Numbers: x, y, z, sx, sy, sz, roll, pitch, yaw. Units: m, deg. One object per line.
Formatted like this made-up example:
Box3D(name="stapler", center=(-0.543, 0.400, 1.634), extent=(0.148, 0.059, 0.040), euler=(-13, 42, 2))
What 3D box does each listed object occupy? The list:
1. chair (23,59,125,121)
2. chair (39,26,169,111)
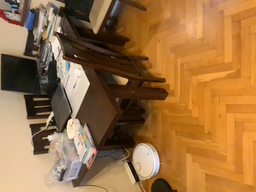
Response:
Box3D(name="chair", center=(-0.630, -0.040, 2.500), extent=(0.480, 0.990, 0.440), euler=(-59, 45, 31))
Box3D(name="chair", center=(-0.210, -0.200, 1.960), extent=(0.470, 0.990, 0.470), euler=(56, 129, 39))
